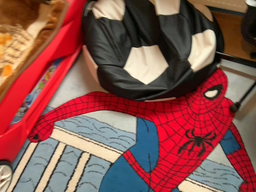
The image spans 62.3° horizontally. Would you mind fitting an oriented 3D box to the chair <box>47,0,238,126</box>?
[{"bbox_3d":[0.120,-0.360,1.400,0.920,0.330,0.770,19,67,13],"label":"chair"}]
